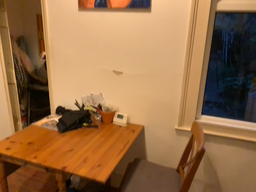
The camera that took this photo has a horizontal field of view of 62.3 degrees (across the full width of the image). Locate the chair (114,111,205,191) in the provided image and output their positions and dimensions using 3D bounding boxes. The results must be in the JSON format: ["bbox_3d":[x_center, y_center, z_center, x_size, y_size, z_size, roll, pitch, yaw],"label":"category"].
[{"bbox_3d":[0.240,0.640,1.600,0.520,0.860,0.530,8,19,18],"label":"chair"}]
